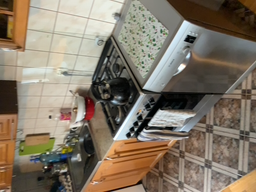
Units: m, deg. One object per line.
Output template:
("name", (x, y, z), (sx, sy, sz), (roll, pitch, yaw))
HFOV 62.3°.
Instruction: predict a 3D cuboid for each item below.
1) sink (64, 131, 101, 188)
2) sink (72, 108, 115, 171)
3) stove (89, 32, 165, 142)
("sink", (-0.520, 0.690, 2.330), (0.390, 0.210, 0.440), (-60, 43, 38))
("sink", (-0.360, 0.420, 2.090), (0.400, 0.210, 0.440), (-60, 43, 38))
("stove", (-0.060, -0.070, 1.590), (0.520, 0.170, 0.610), (-60, 43, 38))
